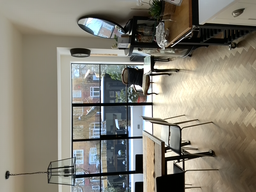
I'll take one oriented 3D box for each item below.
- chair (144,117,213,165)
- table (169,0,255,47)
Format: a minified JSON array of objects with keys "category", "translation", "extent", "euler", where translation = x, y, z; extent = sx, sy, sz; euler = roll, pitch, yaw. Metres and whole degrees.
[{"category":"chair","translation":[0.700,0.610,3.040],"extent":[0.460,0.840,0.580],"euler":[165,104,-79]},{"category":"table","translation":[0.910,-0.820,2.130],"extent":[0.520,0.840,0.500],"euler":[174,96,-79]}]
